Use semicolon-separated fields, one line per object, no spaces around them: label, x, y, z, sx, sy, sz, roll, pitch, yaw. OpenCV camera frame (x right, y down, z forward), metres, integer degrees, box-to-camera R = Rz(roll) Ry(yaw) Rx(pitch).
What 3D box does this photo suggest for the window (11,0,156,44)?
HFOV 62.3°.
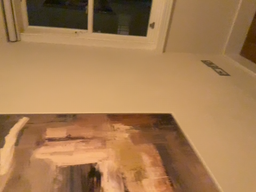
window;-0.320;-0.890;1.660;0.120;1.120;0.880;-106;21;-55
